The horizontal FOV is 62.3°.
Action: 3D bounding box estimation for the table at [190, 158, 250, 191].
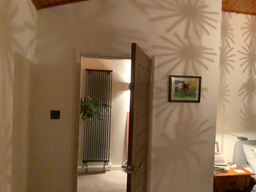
[{"bbox_3d":[1.210,1.240,2.870,0.520,0.630,0.520,1,2,-10],"label":"table"}]
